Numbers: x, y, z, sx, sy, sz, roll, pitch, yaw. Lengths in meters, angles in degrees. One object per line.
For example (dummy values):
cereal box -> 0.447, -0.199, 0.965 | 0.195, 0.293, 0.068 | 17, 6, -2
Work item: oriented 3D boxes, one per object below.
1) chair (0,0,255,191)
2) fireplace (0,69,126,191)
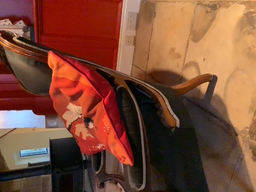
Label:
chair -> -0.050, 0.140, 1.020 | 0.670, 0.980, 0.900 | 151, 115, -66
fireplace -> -1.390, 1.380, 3.120 | 1.480, 2.000, 3.240 | -132, 44, -58
